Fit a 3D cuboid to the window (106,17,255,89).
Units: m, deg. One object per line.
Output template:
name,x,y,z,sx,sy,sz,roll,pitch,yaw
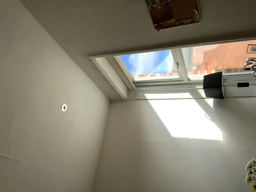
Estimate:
window,0.770,-0.460,2.720,0.840,1.910,0.250,57,-142,-52
